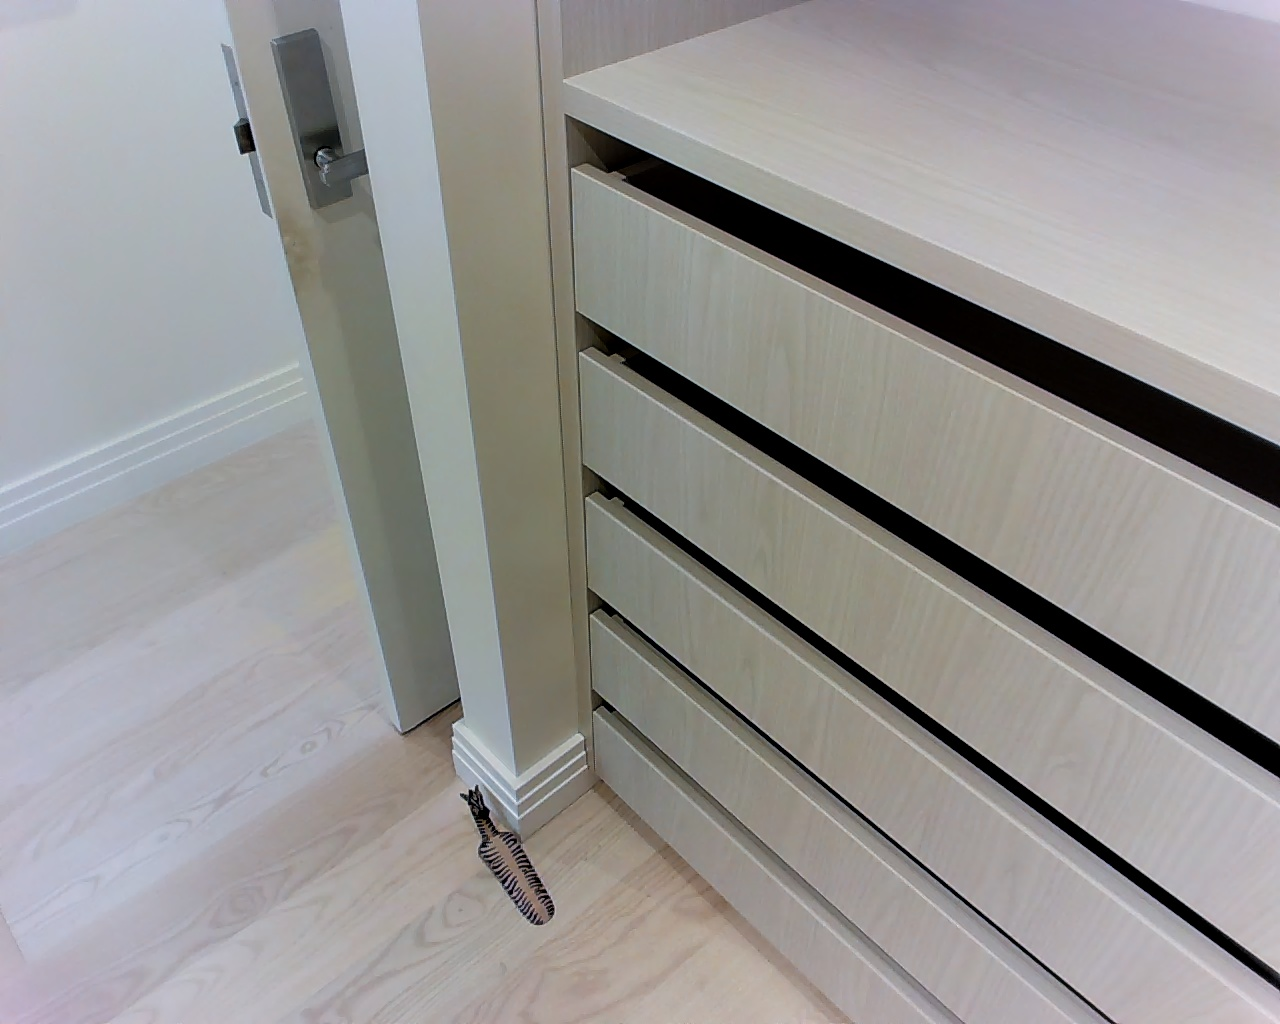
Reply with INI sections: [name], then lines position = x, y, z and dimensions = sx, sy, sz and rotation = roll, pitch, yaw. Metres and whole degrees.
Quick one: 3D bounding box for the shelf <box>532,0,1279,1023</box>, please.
[shelf]
position = 0.540, -0.230, 0.750
dimensions = 0.630, 2.130, 1.180
rotation = -31, 50, -30
